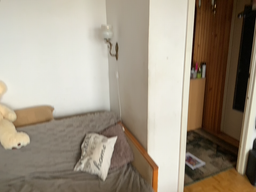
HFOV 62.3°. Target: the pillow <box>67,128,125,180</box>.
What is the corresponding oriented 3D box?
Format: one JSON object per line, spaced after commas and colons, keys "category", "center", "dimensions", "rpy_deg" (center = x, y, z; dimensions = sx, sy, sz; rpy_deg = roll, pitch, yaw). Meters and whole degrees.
{"category": "pillow", "center": [-0.290, 0.510, 1.890], "dimensions": [0.390, 0.320, 0.210], "rpy_deg": [-25, -16, 22]}
